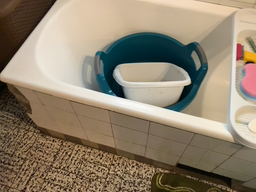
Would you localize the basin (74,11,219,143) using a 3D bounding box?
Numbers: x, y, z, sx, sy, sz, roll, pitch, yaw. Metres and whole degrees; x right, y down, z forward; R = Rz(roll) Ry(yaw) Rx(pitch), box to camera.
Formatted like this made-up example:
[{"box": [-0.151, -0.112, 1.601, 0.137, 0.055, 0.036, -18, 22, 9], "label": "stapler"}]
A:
[{"box": [0.110, -0.110, 1.120, 0.560, 0.320, 0.470, 17, 60, 11], "label": "basin"}]
